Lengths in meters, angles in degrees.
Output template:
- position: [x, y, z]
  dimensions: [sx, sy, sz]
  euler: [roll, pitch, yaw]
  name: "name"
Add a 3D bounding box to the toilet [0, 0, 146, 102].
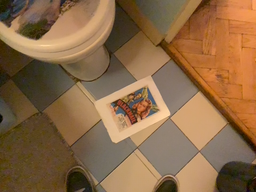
- position: [-0.260, -0.290, 0.770]
  dimensions: [0.370, 0.430, 0.460]
  euler: [-40, 88, -8]
  name: "toilet"
